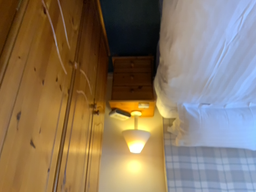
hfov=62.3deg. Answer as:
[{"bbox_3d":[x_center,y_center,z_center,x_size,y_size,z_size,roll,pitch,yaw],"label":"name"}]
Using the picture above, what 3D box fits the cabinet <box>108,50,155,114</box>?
[{"bbox_3d":[0.050,-0.140,2.340,0.450,0.570,0.420,0,154,2],"label":"cabinet"}]
